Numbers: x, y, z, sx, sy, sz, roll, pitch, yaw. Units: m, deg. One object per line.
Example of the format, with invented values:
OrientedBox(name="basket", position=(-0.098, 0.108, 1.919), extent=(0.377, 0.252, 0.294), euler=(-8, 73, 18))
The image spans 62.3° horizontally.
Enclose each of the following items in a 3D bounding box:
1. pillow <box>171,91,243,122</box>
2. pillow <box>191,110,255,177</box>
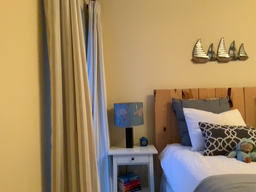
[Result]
OrientedBox(name="pillow", position=(0.780, 0.100, 2.130), extent=(0.620, 0.250, 0.100), euler=(-5, -41, -7))
OrientedBox(name="pillow", position=(0.850, 0.330, 1.600), extent=(0.590, 0.430, 0.140), euler=(-7, -55, -7))
